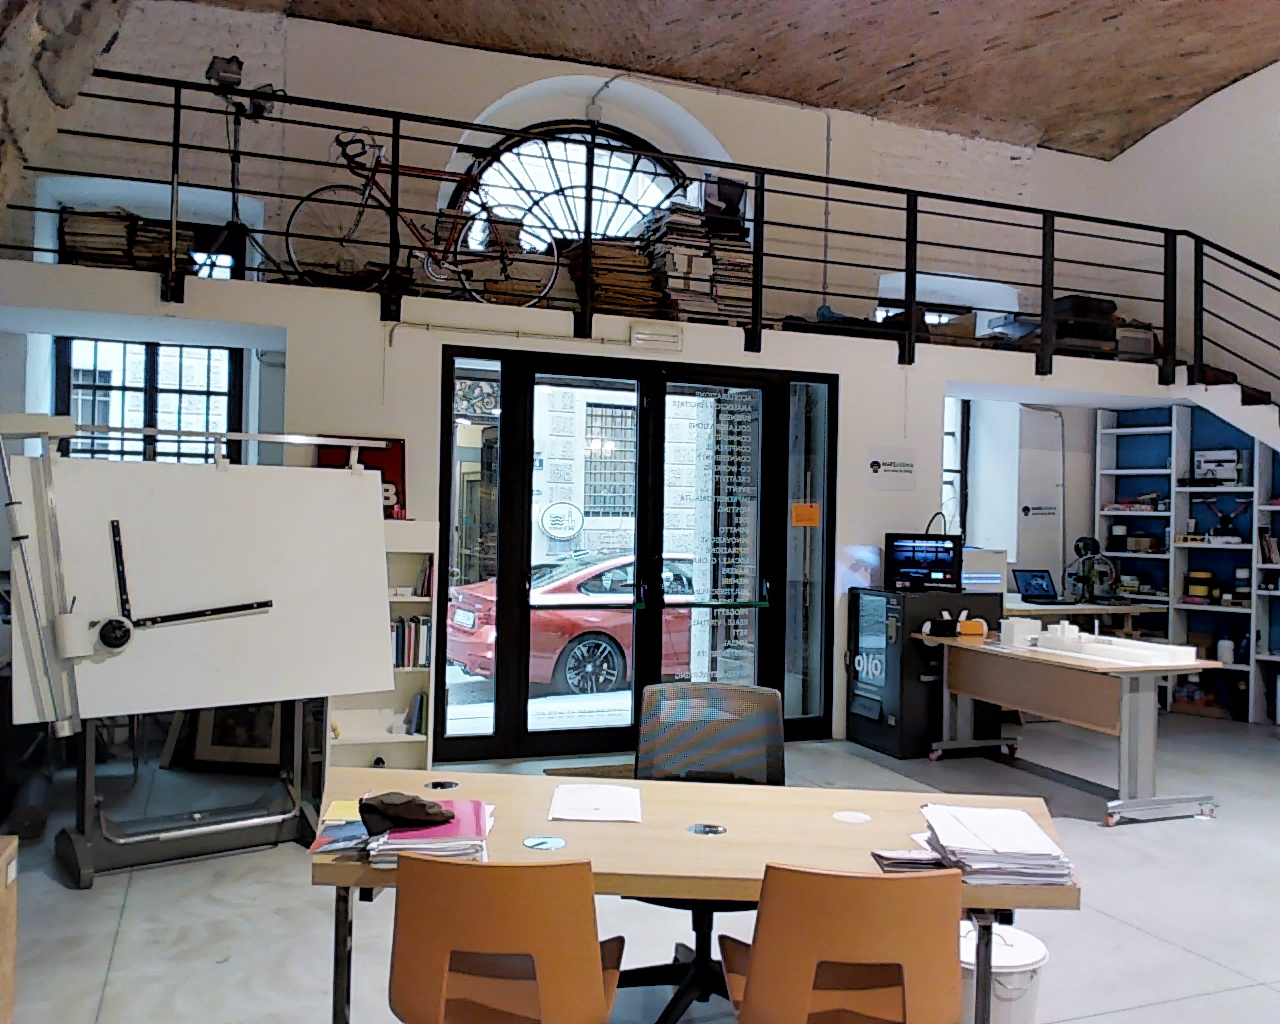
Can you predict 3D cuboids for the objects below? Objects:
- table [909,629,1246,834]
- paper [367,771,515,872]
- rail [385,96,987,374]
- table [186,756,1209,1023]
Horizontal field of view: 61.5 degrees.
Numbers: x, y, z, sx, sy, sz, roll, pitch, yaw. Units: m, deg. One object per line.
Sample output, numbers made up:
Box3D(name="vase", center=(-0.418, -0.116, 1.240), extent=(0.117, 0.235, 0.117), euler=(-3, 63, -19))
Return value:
Box3D(name="table", center=(2.409, 1.170, 6.180), extent=(0.890, 0.810, 1.690), euler=(1, 0, -19))
Box3D(name="paper", center=(-0.430, 0.680, 2.400), extent=(0.290, 0.120, 0.370), euler=(1, 0, -5))
Box3D(name="rail", center=(0.460, -1.690, 7.010), extent=(4.099, 1.270, 0.340), euler=(1, 0, -21))
Box3D(name="table", center=(0.110, 1.100, 2.600), extent=(2.009, 0.740, 0.960), euler=(1, 0, 5))
